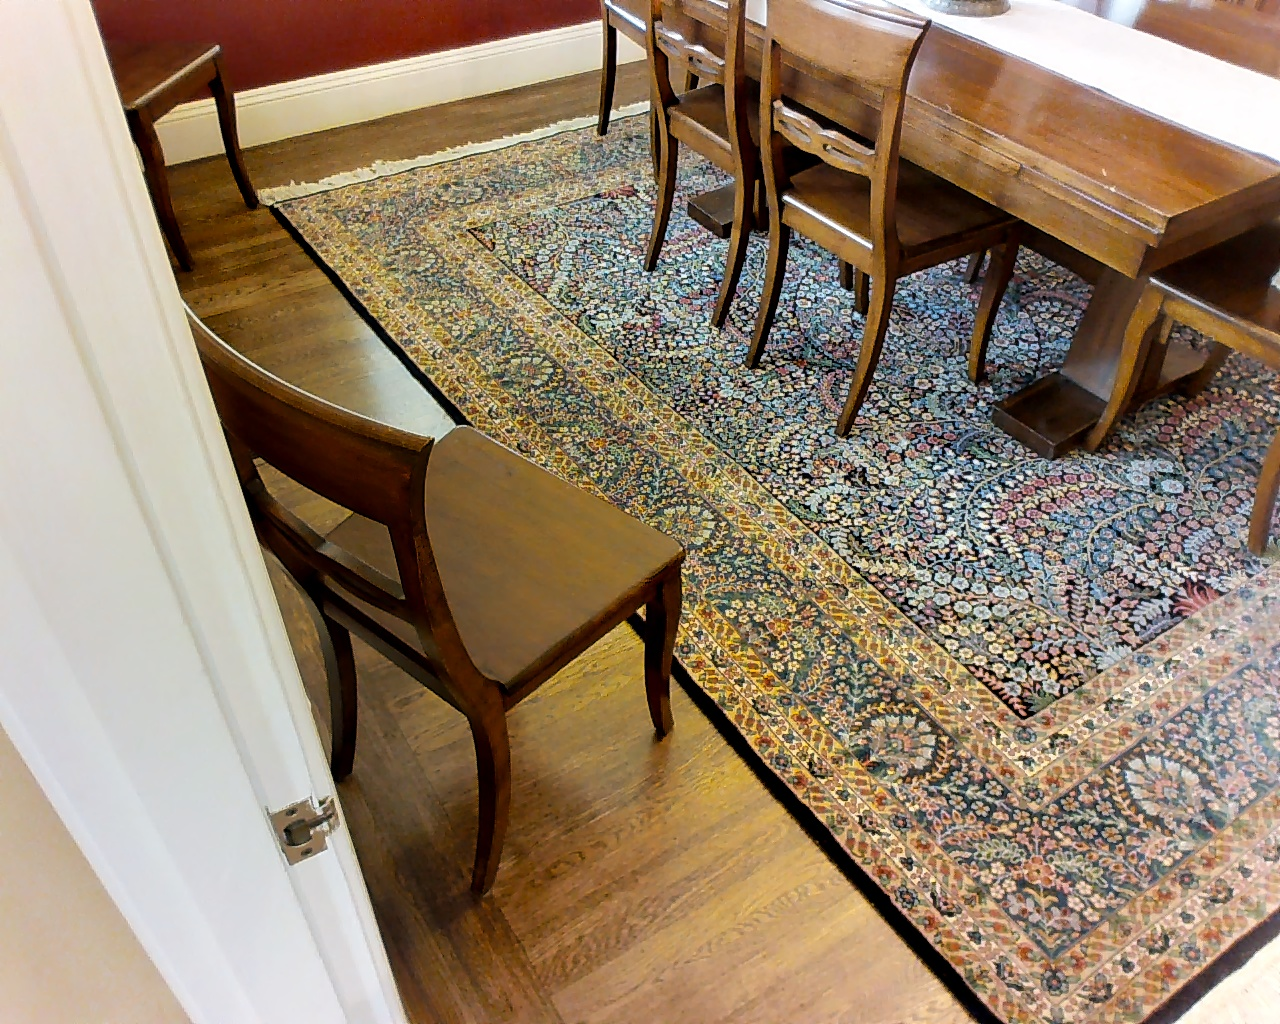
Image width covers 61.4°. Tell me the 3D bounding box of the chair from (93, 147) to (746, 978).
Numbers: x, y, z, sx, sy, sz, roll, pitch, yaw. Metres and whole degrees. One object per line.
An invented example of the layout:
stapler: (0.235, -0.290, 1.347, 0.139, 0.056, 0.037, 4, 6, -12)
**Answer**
chair: (-0.230, 0.090, 1.540, 0.460, 0.940, 0.580, 26, 48, 25)

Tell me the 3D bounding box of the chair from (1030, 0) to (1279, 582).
chair: (1.290, -0.470, 2.150, 0.420, 0.960, 0.640, -23, 47, -23)

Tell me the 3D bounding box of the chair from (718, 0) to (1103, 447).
chair: (0.540, -0.720, 2.350, 0.500, 0.940, 0.470, -25, 48, -26)

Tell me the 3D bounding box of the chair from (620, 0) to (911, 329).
chair: (0.280, -1.030, 2.680, 0.460, 0.910, 0.510, -23, 47, -23)
